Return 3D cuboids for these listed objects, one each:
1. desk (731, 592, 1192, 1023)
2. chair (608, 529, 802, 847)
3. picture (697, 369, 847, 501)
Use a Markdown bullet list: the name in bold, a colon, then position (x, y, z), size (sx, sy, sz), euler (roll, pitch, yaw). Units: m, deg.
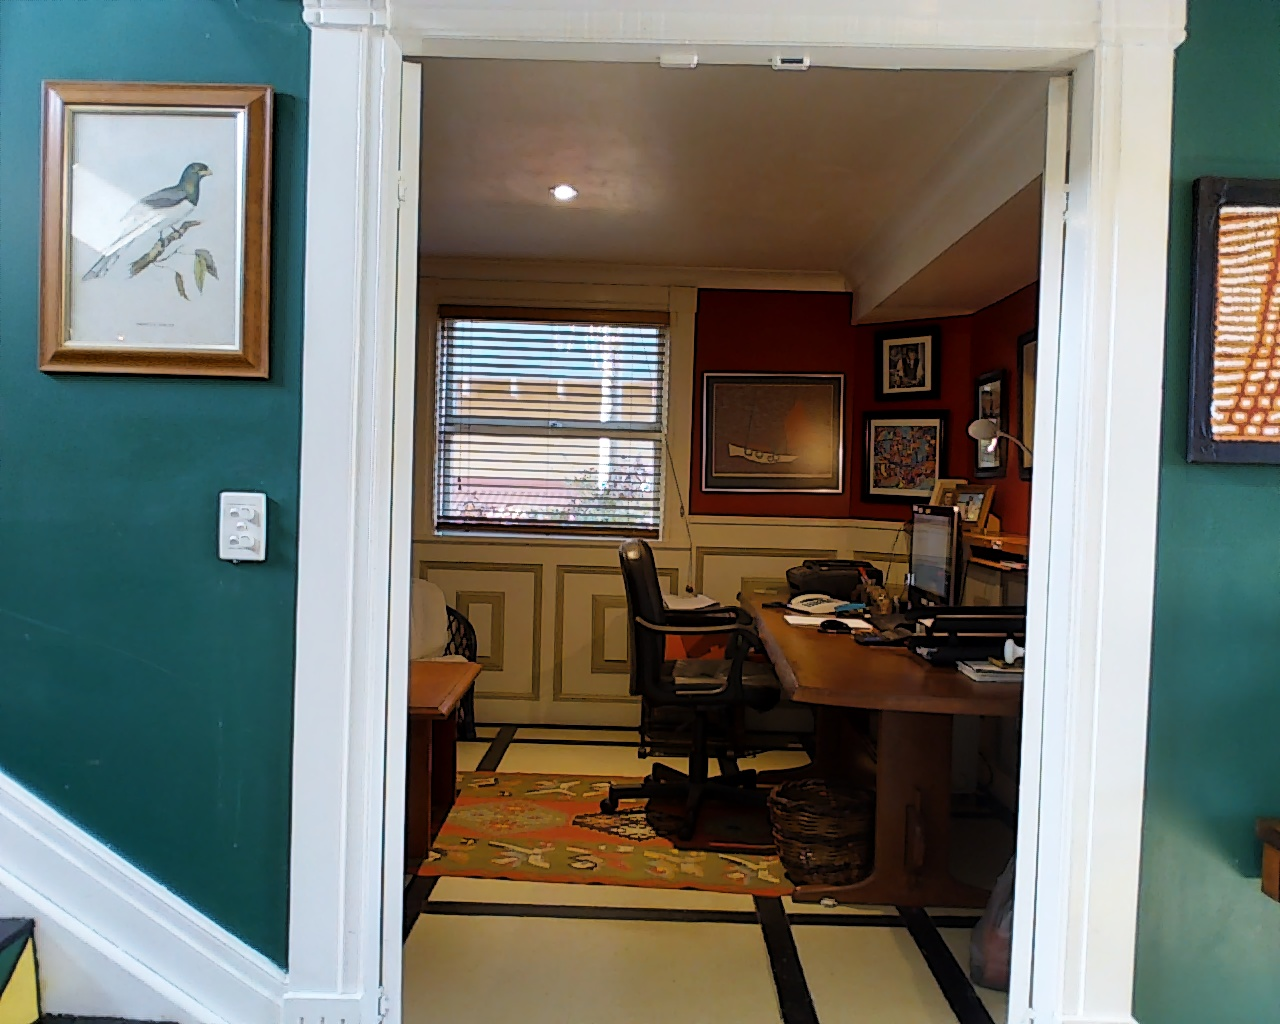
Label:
- **desk**: position (0.870, 0.800, 3.840), size (0.870, 0.750, 2.570), euler (2, 1, 0)
- **chair**: position (0.230, 0.620, 4.110), size (0.640, 1.060, 0.740), euler (2, 1, 1)
- **picture**: position (0.670, -0.390, 5.470), size (0.730, 0.640, 0.090), euler (2, 1, -1)
